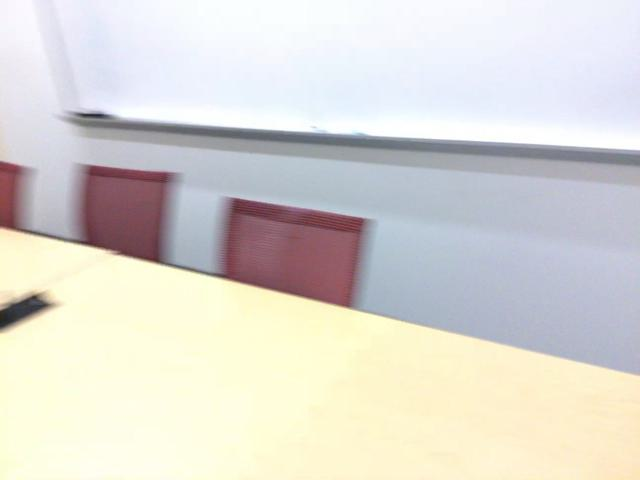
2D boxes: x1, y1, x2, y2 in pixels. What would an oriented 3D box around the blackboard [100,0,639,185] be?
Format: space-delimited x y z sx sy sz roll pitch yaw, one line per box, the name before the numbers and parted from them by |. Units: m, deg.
blackboard | 0.110 -0.920 1.950 2.660 1.300 0.150 10 26 35
